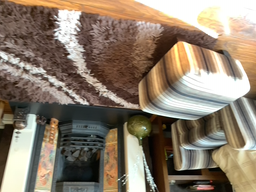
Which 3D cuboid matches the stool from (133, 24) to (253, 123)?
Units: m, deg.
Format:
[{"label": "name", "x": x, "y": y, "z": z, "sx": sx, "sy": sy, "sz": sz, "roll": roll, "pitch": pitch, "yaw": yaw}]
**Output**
[{"label": "stool", "x": 0.380, "y": -0.100, "z": 1.390, "sx": 0.510, "sy": 0.340, "sz": 0.480, "roll": 11, "pitch": 147, "yaw": -23}]
